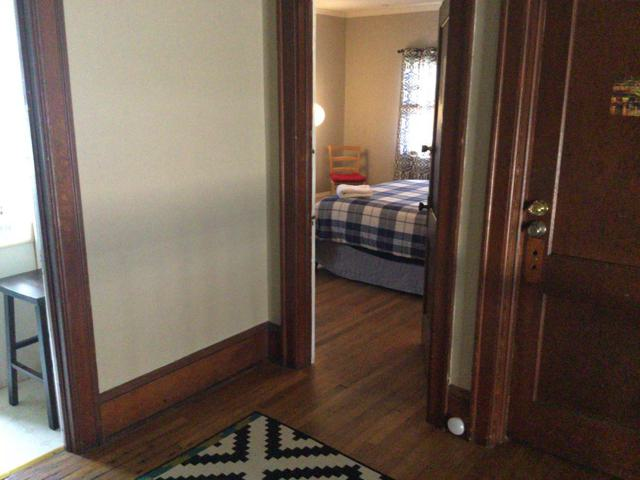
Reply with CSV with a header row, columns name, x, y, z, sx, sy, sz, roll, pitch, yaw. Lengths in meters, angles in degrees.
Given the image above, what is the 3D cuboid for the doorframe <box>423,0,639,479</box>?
name,x,y,z,sx,sy,sz,roll,pitch,yaw
doorframe,1.070,-0.080,1.990,1.210,2.130,0.240,16,19,37
